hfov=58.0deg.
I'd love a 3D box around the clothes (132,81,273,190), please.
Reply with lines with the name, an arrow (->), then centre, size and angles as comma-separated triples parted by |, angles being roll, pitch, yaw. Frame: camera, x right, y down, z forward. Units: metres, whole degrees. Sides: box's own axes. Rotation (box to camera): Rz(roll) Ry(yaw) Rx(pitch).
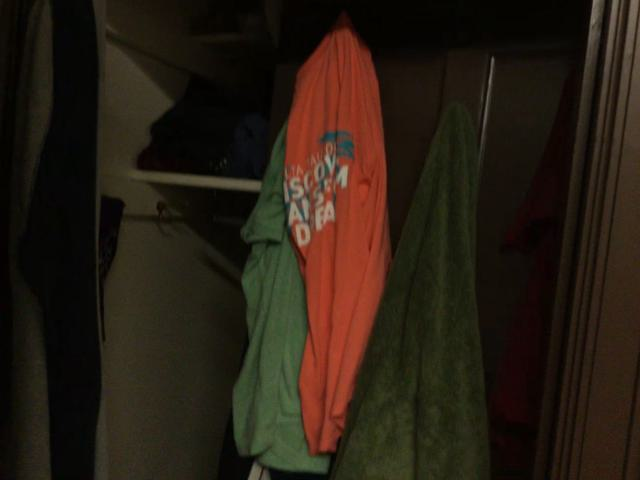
clothes -> -0.260, -0.230, 1.330 | 0.210, 0.200, 0.260 | 7, 4, 14

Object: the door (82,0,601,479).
door -> -0.010, 0.520, 0.960 | 0.590, 1.980, 0.440 | 7, 4, 14

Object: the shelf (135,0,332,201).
shelf -> -0.180, -0.320, 1.430 | 0.270, 0.410, 0.510 | 7, 4, 14

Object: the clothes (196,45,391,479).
clothes -> -0.050, 0.100, 0.980 | 0.240, 0.810, 0.110 | 7, 4, 15

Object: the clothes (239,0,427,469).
clothes -> 0.030, -0.040, 0.980 | 0.200, 0.750, 0.210 | 7, 4, 15
